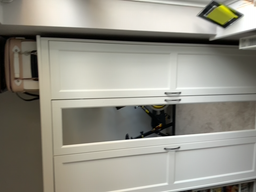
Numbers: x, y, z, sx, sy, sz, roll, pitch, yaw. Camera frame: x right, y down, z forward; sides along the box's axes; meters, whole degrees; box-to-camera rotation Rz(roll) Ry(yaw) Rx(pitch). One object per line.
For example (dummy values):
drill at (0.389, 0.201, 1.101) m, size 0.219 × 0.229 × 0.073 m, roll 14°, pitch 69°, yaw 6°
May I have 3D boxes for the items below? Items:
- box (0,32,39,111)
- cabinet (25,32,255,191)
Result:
box at (-0.890, -0.190, 1.600) m, size 0.470 × 0.340 × 0.510 m, roll -153°, pitch 62°, yaw -71°
cabinet at (0.200, 0.180, 1.940) m, size 0.640 × 1.910 × 1.290 m, roll -161°, pitch 70°, yaw -72°
